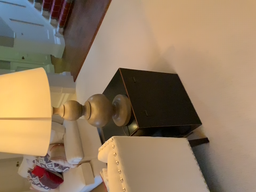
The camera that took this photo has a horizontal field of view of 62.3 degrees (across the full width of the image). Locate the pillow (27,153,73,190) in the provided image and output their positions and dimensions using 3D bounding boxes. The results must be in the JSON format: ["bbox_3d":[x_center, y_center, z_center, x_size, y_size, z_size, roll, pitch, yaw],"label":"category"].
[{"bbox_3d":[-1.220,1.180,3.290,0.560,0.410,0.360,-34,54,27],"label":"pillow"}]
